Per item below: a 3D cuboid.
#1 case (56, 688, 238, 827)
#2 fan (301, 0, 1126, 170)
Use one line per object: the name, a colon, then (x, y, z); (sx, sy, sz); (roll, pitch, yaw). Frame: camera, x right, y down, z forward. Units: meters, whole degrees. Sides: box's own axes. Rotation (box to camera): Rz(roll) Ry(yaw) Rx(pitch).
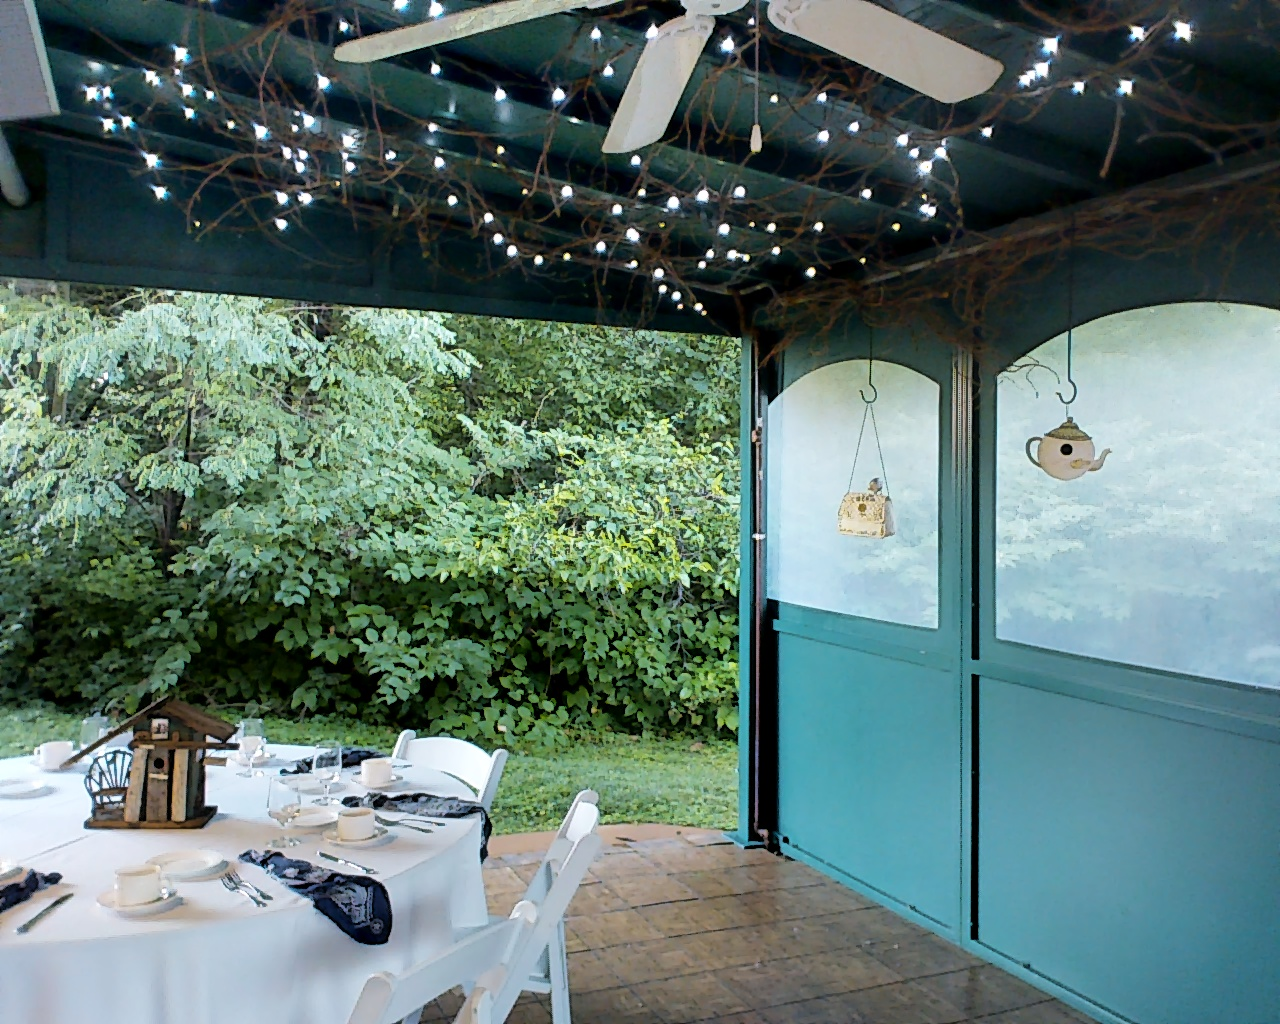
case: (-1.210, 0.600, 2.670); (0.380, 0.280, 0.200); (1, 1, -15)
fan: (0.100, -0.900, 1.800); (1.240, 0.250, 1.240); (1, 1, -2)
